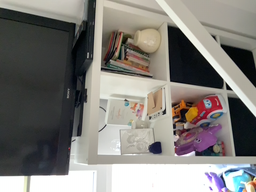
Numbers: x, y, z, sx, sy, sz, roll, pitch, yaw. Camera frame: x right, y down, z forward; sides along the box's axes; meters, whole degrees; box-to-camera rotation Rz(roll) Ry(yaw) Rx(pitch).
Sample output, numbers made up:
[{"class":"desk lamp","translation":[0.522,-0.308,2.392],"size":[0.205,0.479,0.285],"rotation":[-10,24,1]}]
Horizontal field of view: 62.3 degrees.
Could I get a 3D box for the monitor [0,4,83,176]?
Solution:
[{"class":"monitor","translation":[-0.500,-0.050,1.060],"size":[0.040,0.530,0.830],"rotation":[149,121,-64]}]
